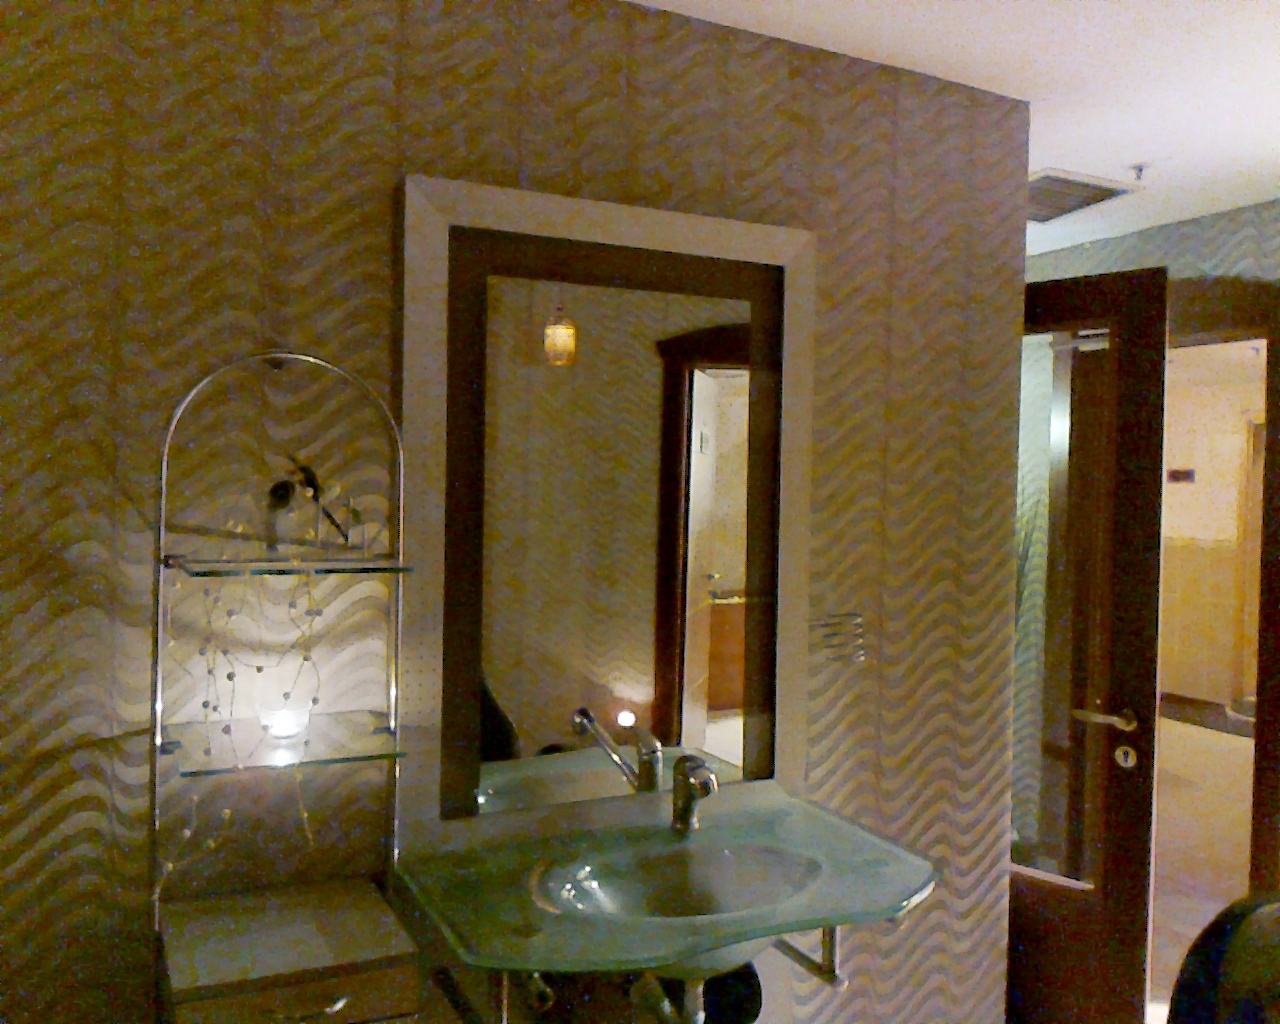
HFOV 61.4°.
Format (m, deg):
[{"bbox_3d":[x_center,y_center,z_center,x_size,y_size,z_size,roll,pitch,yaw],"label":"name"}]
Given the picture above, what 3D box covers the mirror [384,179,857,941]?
[{"bbox_3d":[-0.010,0.090,2.160,0.950,1.330,0.160,1,1,-26],"label":"mirror"}]
